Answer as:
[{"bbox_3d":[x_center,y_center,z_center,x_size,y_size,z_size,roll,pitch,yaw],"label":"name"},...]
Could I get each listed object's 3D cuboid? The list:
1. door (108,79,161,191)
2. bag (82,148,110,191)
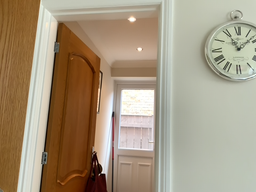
[{"bbox_3d":[0.110,0.740,3.350,0.740,2.000,0.170,2,-10,4],"label":"door"},{"bbox_3d":[-0.310,0.850,2.060,0.160,0.630,0.370,2,-10,6],"label":"bag"}]
